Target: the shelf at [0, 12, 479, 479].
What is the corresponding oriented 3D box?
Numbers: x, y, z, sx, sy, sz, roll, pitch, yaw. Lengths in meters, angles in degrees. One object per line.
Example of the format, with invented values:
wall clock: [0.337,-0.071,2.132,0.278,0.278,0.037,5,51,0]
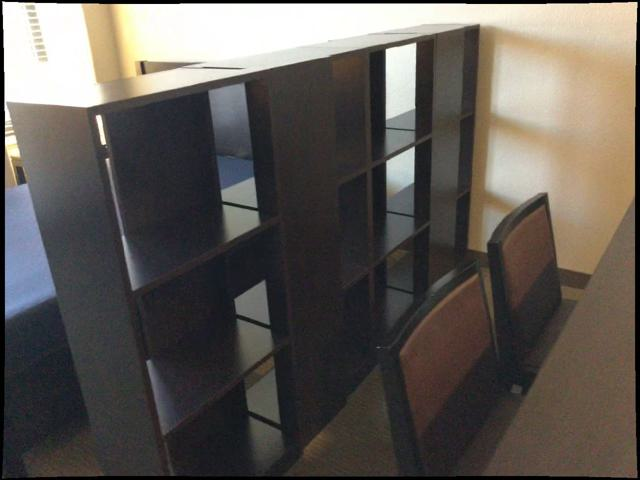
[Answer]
shelf: [0.040,-0.090,2.160,0.379,1.253,2.129,11,28,31]
